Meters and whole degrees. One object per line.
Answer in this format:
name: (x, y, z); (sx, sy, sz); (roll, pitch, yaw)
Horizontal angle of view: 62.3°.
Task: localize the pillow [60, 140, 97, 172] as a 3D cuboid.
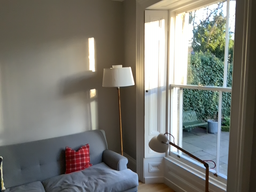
pillow: (-0.690, 0.830, 2.960); (0.420, 0.310, 0.150); (-8, -20, -28)
